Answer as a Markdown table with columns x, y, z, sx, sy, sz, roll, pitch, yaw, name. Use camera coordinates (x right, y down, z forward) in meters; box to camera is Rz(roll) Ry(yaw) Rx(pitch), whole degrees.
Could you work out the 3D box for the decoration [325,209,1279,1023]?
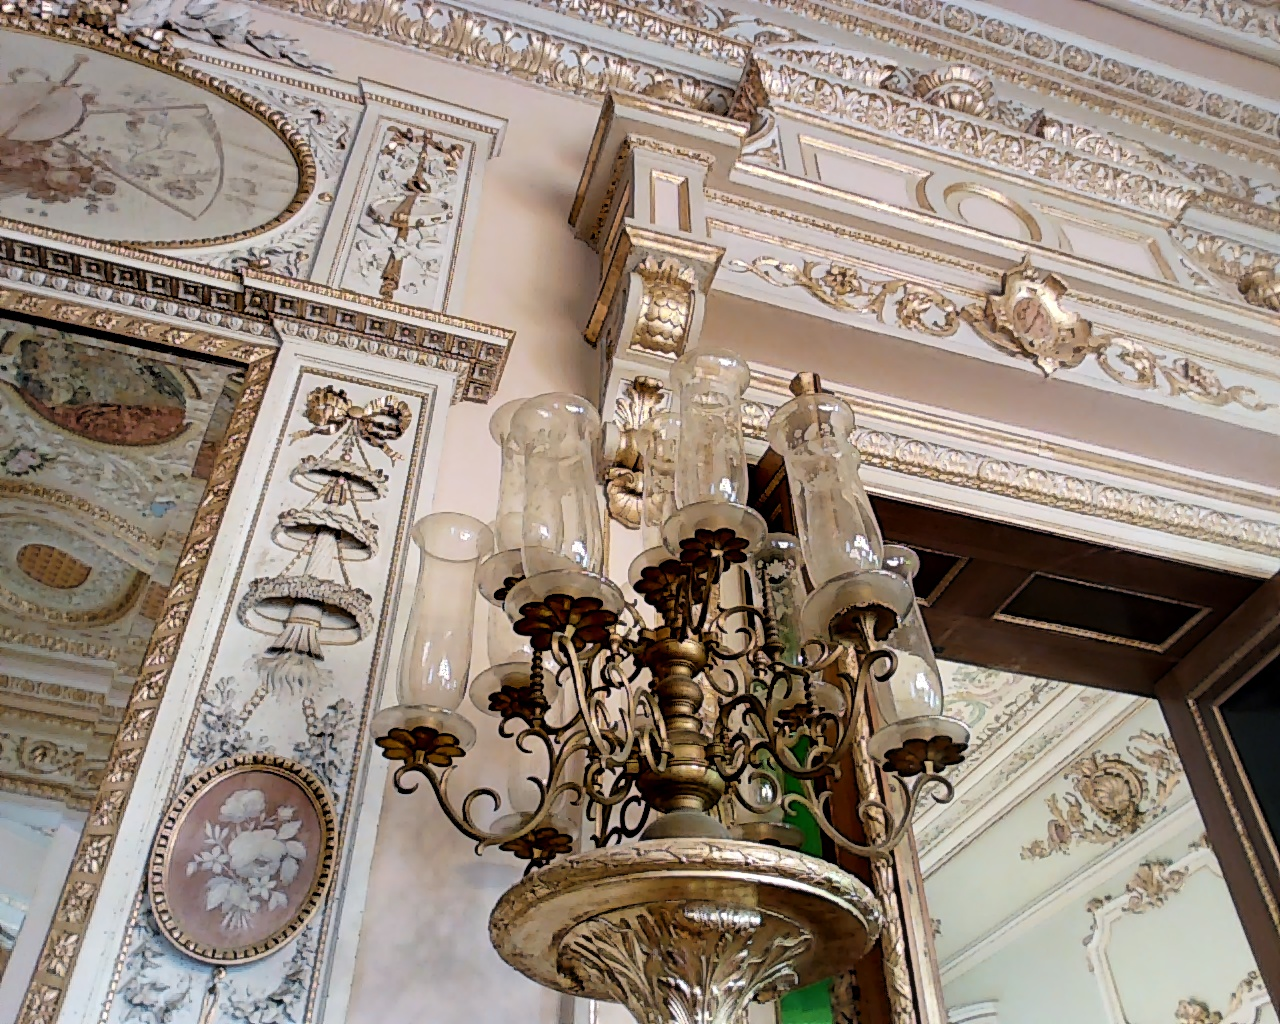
| x | y | z | sx | sy | sz | roll | pitch | yaw | name |
| --- | --- | --- | --- | --- | --- | --- | --- | --- | --- |
| 0.110 | 0.931 | 0.610 | 0.780 | 2.831 | 0.510 | 12 | -43 | -12 | decoration |
